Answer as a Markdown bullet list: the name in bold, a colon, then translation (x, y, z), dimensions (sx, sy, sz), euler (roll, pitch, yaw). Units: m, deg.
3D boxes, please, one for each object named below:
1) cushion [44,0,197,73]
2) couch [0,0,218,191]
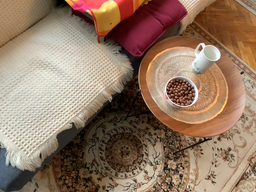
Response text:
- **cushion**: translation (-0.010, -0.470, 0.970), dimensions (0.500, 0.170, 0.530), euler (40, 67, 8)
- **couch**: translation (-0.120, -0.510, 1.100), dimensions (0.770, 0.740, 1.790), euler (41, 67, 8)
